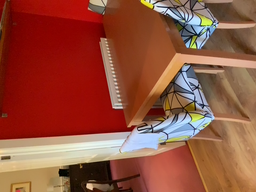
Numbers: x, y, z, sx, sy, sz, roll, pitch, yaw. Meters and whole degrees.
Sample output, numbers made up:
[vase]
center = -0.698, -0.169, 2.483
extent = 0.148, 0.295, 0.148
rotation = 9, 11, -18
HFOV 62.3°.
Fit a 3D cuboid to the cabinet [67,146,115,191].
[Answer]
[cabinet]
center = -0.850, 1.650, 4.760
extent = 0.340, 0.930, 0.880
rotation = 120, 143, -50
